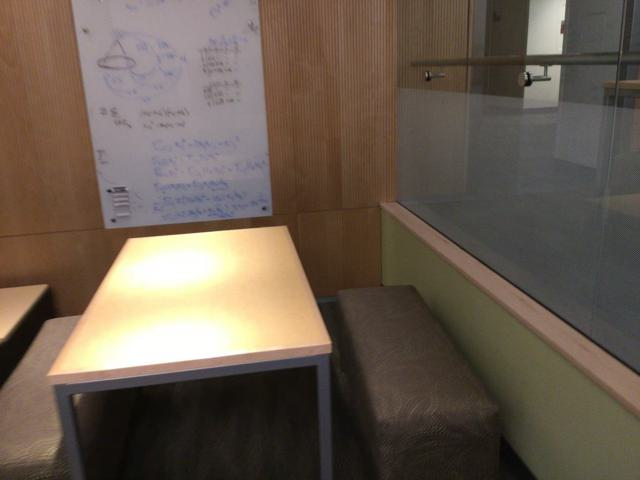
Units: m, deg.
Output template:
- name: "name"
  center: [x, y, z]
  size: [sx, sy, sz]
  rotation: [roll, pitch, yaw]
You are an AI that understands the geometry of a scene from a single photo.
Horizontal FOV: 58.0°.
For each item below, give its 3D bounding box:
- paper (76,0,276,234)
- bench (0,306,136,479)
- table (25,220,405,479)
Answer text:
- name: "paper"
  center: [-0.780, -0.700, 3.130]
  size: [0.990, 1.290, 0.080]
  rotation: [3, 11, -11]
- name: "bench"
  center: [-0.930, 0.600, 2.110]
  size: [0.470, 0.340, 1.050]
  rotation: [-3, 14, -18]
- name: "table"
  center: [-0.430, 0.330, 2.150]
  size: [0.960, 0.520, 1.340]
  rotation: [-3, 14, -18]
